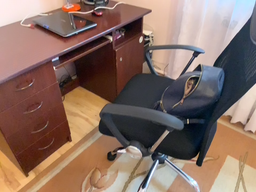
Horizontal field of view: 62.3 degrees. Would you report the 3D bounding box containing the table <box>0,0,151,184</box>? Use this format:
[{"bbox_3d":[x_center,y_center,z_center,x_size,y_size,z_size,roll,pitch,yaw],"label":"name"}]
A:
[{"bbox_3d":[-0.470,-0.200,1.630,0.680,0.740,1.290,25,46,26],"label":"table"}]
